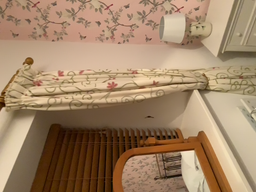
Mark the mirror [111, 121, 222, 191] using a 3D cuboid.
[{"bbox_3d":[0.170,0.430,1.160,0.560,0.500,0.200,-97,0,-53],"label":"mirror"}]
